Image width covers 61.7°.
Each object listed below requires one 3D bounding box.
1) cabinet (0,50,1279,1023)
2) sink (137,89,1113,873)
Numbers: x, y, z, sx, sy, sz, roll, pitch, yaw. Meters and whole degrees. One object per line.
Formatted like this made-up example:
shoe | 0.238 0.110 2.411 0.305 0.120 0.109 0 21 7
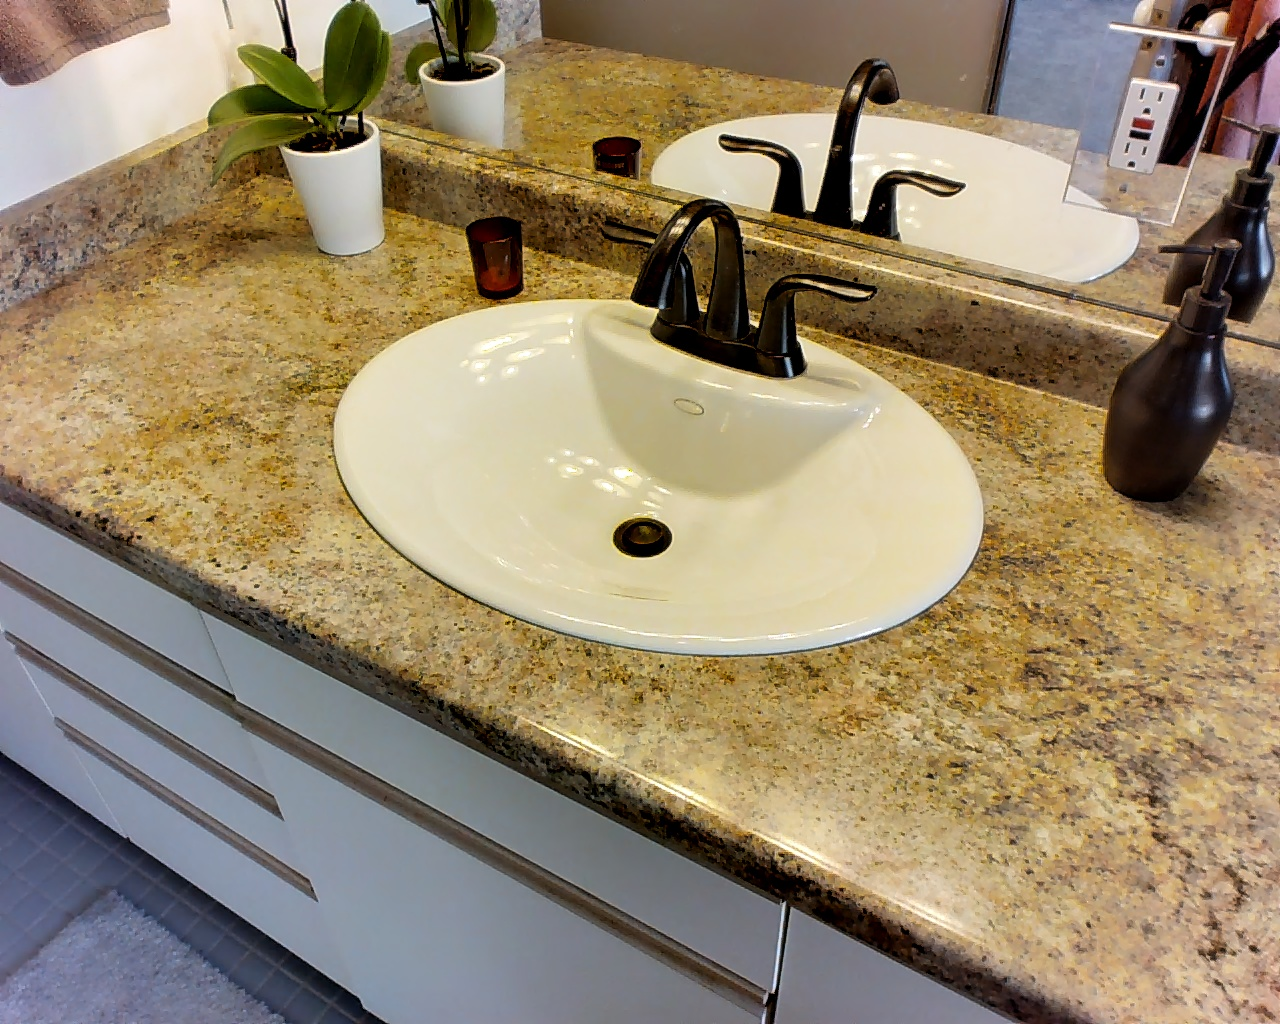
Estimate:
cabinet | -0.010 0.190 1.230 1.320 0.990 0.750 20 46 24
sink | 0.010 -0.090 0.900 0.570 0.280 0.480 20 46 24
